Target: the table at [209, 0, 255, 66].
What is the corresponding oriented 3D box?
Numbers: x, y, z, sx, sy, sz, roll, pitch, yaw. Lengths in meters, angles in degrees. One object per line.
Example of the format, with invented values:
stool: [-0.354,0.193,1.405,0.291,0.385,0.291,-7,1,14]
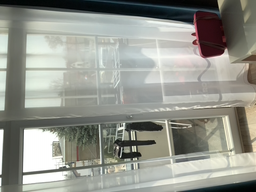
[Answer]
table: [0.990,-0.560,1.490,0.640,0.460,0.550,154,114,-74]
